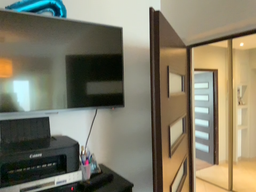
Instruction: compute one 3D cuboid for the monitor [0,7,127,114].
[{"bbox_3d":[-0.440,-0.190,1.260,0.990,0.550,0.040,-2,3,-32],"label":"monitor"}]
